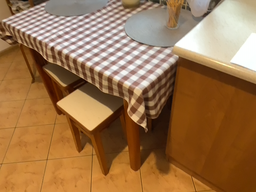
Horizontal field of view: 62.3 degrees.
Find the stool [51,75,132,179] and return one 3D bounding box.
[{"bbox_3d":[-0.190,0.190,1.270,0.330,0.480,0.250,33,55,31],"label":"stool"}]
